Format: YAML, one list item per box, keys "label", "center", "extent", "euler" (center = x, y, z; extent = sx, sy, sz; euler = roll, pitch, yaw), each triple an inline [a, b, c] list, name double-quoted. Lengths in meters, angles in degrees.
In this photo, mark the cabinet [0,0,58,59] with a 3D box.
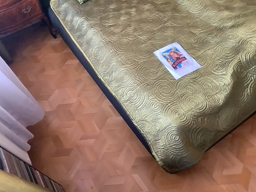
- label: "cabinet"
  center: [-1.120, -0.830, 2.090]
  extent: [0.510, 0.690, 0.390]
  euler: [-31, 60, -16]
